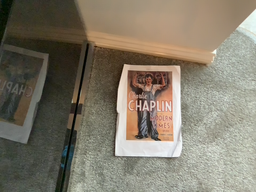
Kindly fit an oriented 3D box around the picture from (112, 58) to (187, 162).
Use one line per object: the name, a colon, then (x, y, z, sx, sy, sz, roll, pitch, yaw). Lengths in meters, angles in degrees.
picture: (0.070, 0.040, 0.670, 0.220, 0.040, 0.310, 3, 78, -2)
